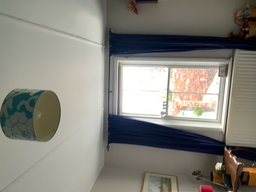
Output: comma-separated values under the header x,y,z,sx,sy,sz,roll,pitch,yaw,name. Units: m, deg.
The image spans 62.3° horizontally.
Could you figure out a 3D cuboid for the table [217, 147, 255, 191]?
x,y,z,sx,sy,sz,roll,pitch,yaw,name
1.770,1.160,3.080,0.630,0.680,0.570,-47,-40,-78,table
